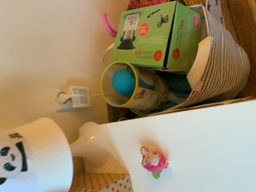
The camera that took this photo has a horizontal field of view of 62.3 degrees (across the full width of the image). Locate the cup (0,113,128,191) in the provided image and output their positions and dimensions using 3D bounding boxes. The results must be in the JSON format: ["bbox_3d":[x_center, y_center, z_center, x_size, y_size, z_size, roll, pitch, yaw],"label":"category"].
[{"bbox_3d":[-0.180,0.150,0.470,0.220,0.270,0.170,-12,85,37],"label":"cup"}]

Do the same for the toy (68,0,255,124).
[{"bbox_3d":[0.200,-0.140,0.890,0.460,0.690,0.390,-11,85,39],"label":"toy"}]
